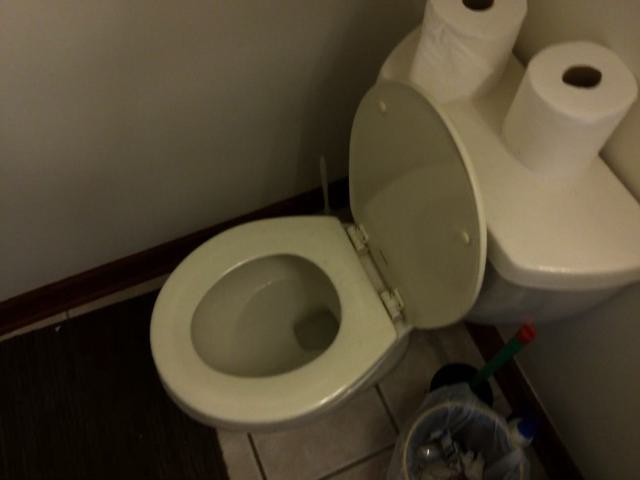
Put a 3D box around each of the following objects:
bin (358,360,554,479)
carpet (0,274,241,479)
[{"bbox_3d":[0.250,0.430,1.120,0.250,0.220,0.260,-21,65,-11],"label":"bin"},{"bbox_3d":[-0.500,0.390,1.260,0.510,0.040,0.510,-21,65,-11],"label":"carpet"}]
